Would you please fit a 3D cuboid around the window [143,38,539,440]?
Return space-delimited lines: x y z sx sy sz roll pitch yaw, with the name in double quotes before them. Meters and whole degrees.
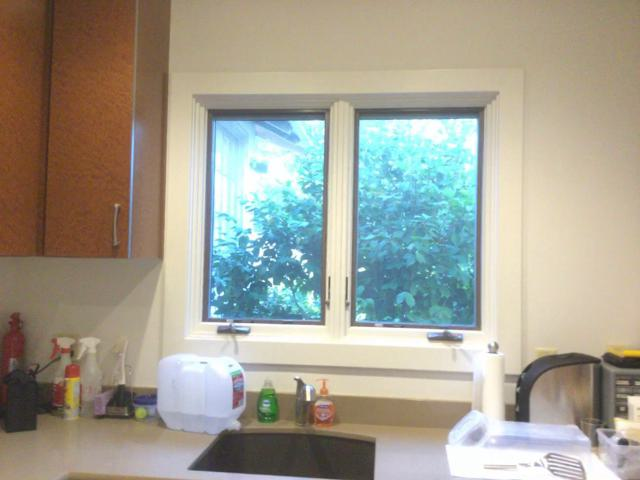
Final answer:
"window" 0.070 -0.020 2.150 1.370 1.360 0.230 1 -3 7

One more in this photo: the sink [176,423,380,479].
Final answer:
"sink" -0.100 0.800 1.810 0.560 0.300 0.460 1 -3 7

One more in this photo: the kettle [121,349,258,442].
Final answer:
"kettle" -0.450 0.540 2.060 0.400 0.250 0.280 1 -3 7
